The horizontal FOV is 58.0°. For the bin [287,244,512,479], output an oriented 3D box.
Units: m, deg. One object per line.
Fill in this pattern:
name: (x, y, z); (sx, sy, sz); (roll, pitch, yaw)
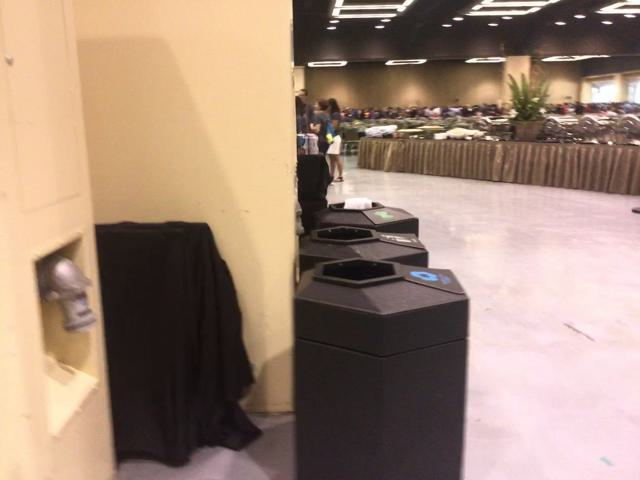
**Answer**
bin: (0.210, 0.470, 1.970); (0.610, 0.780, 0.510); (3, 15, -3)
